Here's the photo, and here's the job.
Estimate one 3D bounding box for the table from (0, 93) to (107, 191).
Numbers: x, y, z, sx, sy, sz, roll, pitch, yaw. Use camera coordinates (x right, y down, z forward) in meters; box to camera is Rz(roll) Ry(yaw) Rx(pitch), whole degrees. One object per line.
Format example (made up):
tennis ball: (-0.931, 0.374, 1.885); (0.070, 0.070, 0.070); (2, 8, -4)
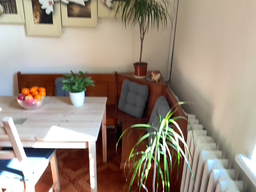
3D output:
table: (-0.820, 0.460, 1.920); (1.190, 0.700, 0.810); (2, 21, -1)

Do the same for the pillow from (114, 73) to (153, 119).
pillow: (0.050, -0.010, 2.430); (0.370, 0.400, 0.230); (21, 28, 40)
